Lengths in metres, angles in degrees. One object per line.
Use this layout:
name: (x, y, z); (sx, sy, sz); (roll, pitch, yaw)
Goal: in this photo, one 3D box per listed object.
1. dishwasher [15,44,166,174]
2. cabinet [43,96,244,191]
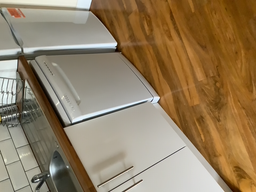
dishwasher: (-0.330, 0.040, 1.760); (0.650, 0.910, 0.620); (53, 135, 25)
cabinet: (0.070, 0.590, 1.450); (0.840, 0.910, 0.600); (53, 135, 25)
